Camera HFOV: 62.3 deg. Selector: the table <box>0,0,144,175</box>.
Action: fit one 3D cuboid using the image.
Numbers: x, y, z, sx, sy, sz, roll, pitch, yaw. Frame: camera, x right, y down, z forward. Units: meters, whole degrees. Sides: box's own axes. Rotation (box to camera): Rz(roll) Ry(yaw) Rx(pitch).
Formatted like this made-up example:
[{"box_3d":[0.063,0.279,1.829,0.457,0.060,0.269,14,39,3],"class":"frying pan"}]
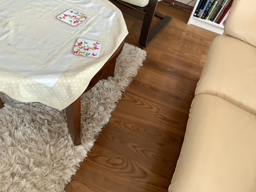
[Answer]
[{"box_3d":[-0.420,-0.170,1.080,0.710,0.520,0.730,22,50,6],"class":"table"}]
